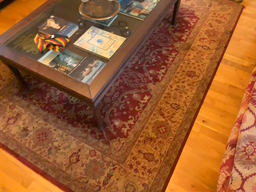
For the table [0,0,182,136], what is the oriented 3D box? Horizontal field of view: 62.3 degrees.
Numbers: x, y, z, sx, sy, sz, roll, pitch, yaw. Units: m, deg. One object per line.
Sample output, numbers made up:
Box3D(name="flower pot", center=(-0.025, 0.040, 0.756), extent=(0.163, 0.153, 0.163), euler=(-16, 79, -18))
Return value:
Box3D(name="table", center=(-0.220, -0.520, 1.690), extent=(0.830, 0.460, 1.370), euler=(25, 58, 16))
